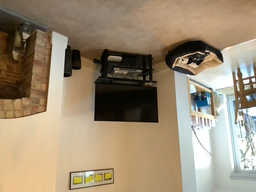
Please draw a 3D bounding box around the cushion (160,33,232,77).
[{"bbox_3d":[1.060,-0.570,3.260,1.040,0.200,0.620,12,161,-43],"label":"cushion"}]

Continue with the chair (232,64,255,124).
[{"bbox_3d":[2.340,-0.010,3.960,0.470,1.010,0.460,-14,161,43],"label":"chair"}]
